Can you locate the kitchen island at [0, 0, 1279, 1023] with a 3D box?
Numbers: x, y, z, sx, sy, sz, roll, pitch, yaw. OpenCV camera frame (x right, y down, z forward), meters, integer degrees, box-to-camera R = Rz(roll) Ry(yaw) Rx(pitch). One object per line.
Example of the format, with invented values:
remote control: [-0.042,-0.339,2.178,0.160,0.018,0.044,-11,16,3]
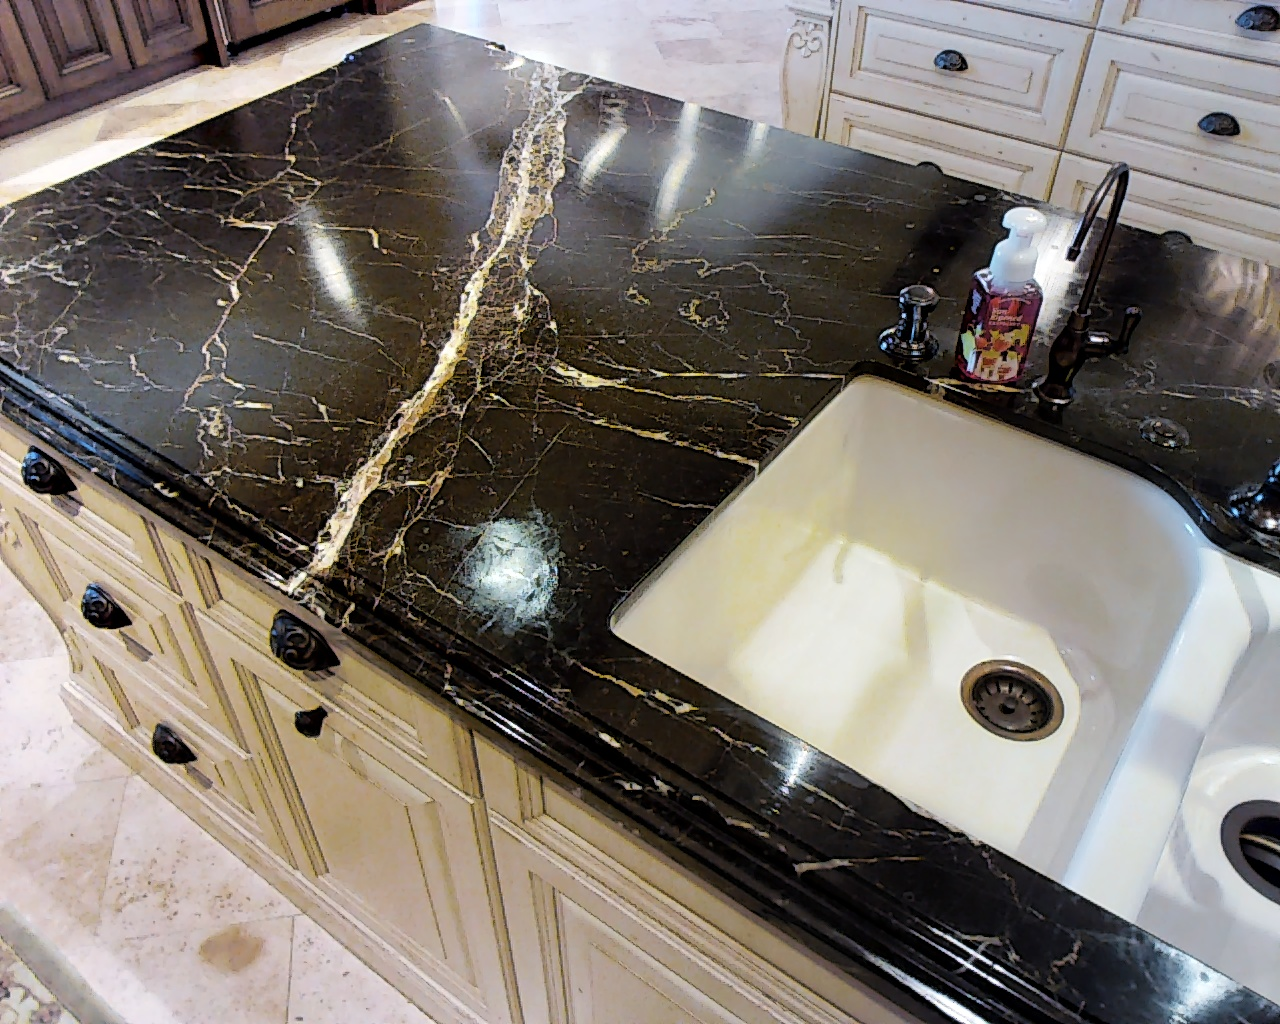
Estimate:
kitchen island: [0.530,0.330,1.300,3.200,0.990,1.210,26,49,26]
